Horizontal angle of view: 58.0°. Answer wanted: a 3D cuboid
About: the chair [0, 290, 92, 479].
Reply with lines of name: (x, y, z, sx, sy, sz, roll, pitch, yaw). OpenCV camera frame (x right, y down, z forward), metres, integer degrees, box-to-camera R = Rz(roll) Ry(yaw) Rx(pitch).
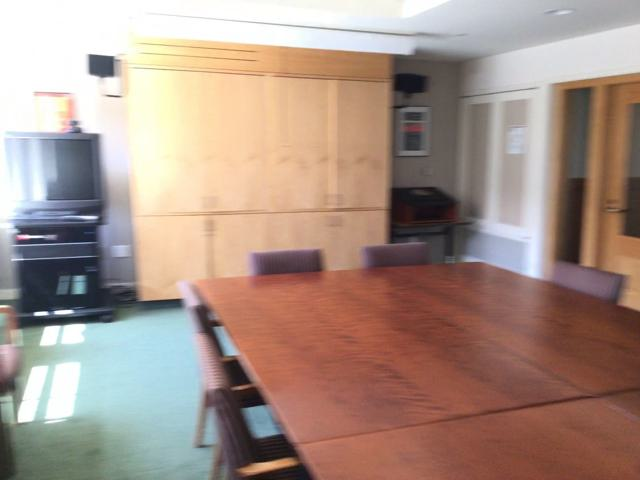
chair: (-1.430, 0.750, 2.640, 0.590, 0.880, 0.650, -5, 7, -16)
